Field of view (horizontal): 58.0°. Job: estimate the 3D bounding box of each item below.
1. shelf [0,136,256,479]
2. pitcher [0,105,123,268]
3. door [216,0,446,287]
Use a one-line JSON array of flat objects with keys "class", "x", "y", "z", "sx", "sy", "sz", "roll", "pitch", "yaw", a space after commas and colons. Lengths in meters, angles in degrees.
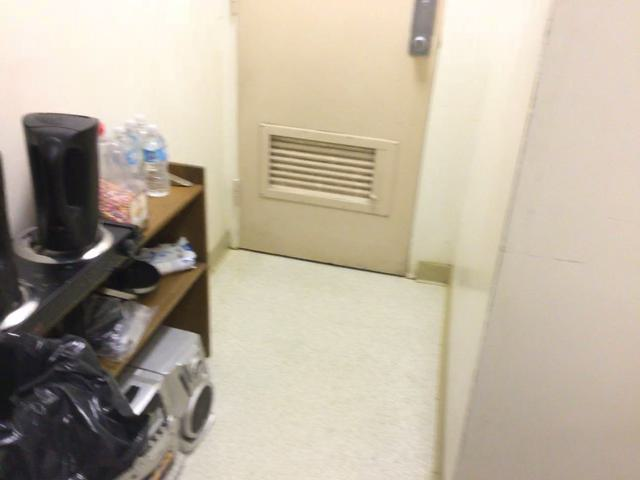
[{"class": "shelf", "x": -0.520, "y": 0.260, "z": 1.500, "sx": 0.360, "sy": 0.770, "sz": 1.100, "roll": 8, "pitch": 26, "yaw": 11}, {"class": "pitcher", "x": -0.510, "y": -0.110, "z": 1.150, "sx": 0.140, "sy": 0.270, "sz": 0.160, "roll": 8, "pitch": 26, "yaw": 11}, {"class": "door", "x": 0.020, "y": -0.680, "z": 2.280, "sx": 0.860, "sy": 1.780, "sz": 0.100, "roll": 8, "pitch": 26, "yaw": 11}]
